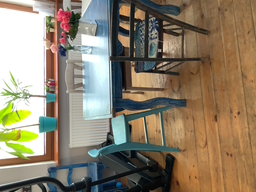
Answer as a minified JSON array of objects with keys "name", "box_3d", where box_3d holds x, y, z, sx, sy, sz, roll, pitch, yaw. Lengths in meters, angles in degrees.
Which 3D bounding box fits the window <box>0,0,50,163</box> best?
[{"name":"window","box_3d":[-1.900,-0.340,2.940,0.160,1.500,2.480,-23,69,61]}]

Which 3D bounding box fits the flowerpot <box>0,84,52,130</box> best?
[{"name":"flowerpot","box_3d":[-1.530,0.160,3.030,0.150,0.830,0.620,-20,72,62]}]
